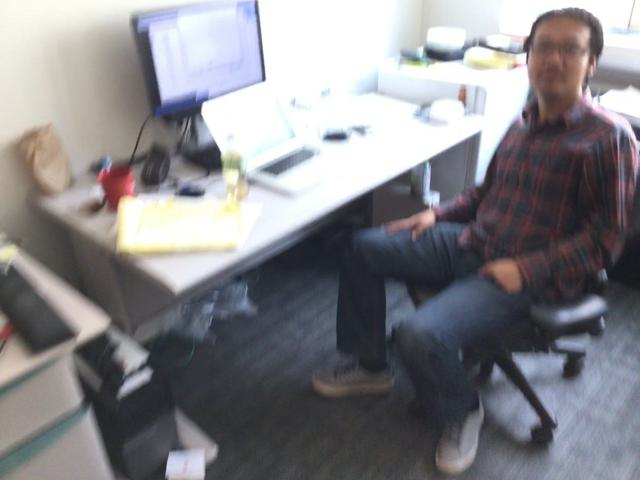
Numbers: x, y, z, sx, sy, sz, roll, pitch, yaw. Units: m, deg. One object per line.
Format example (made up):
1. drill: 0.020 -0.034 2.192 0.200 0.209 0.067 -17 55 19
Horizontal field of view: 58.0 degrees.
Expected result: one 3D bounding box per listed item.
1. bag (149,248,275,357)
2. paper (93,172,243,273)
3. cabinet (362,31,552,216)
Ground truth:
1. bag: -0.410 0.230 2.270 0.200 0.180 0.440 23 39 35
2. paper: -0.380 -0.060 1.540 0.320 0.080 0.380 -3 31 -2
3. cabinet: 0.590 -0.550 2.570 0.560 0.570 0.580 23 39 35
